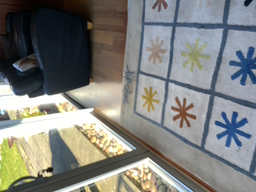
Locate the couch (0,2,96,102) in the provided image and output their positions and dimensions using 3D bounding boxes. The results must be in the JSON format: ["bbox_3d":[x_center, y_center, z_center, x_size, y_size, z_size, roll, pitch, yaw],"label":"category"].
[{"bbox_3d":[-1.030,-0.560,2.670,0.910,0.860,0.960,24,114,49],"label":"couch"}]

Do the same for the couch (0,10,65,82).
[{"bbox_3d":[-1.620,-0.810,3.410,0.950,0.870,0.930,24,114,49],"label":"couch"}]
